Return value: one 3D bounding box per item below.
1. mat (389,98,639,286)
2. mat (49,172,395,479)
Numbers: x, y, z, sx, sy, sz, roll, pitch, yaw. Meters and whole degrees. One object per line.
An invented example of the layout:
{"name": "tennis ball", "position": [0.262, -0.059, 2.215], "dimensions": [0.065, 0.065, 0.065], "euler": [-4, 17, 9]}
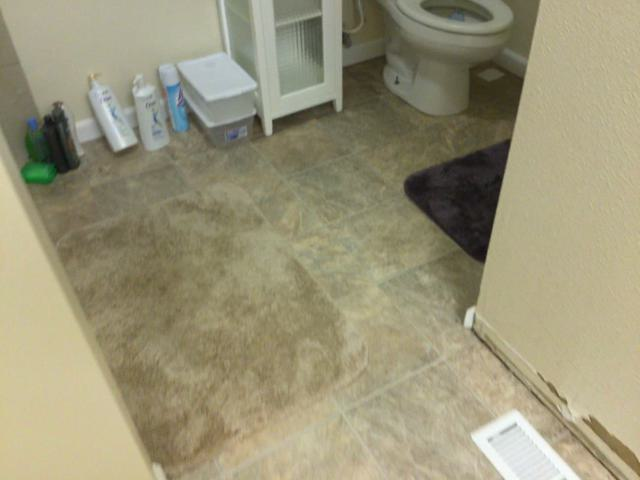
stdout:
{"name": "mat", "position": [0.760, -0.210, 1.960], "dimensions": [0.880, 0.050, 0.560], "euler": [-22, 45, -15]}
{"name": "mat", "position": [-0.340, 0.160, 1.660], "dimensions": [0.660, 0.050, 0.970], "euler": [-22, 45, -21]}
